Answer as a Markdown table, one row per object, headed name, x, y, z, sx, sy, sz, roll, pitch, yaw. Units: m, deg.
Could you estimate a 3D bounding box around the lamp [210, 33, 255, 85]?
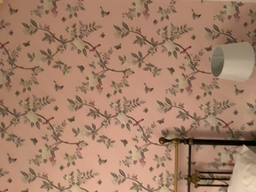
| name | x | y | z | sx | sy | sz | roll | pitch | yaw |
| --- | --- | --- | --- | --- | --- | --- | --- | --- | --- |
| lamp | 0.760 | -0.220 | 1.350 | 0.240 | 0.370 | 0.280 | -158 | 69 | -88 |
